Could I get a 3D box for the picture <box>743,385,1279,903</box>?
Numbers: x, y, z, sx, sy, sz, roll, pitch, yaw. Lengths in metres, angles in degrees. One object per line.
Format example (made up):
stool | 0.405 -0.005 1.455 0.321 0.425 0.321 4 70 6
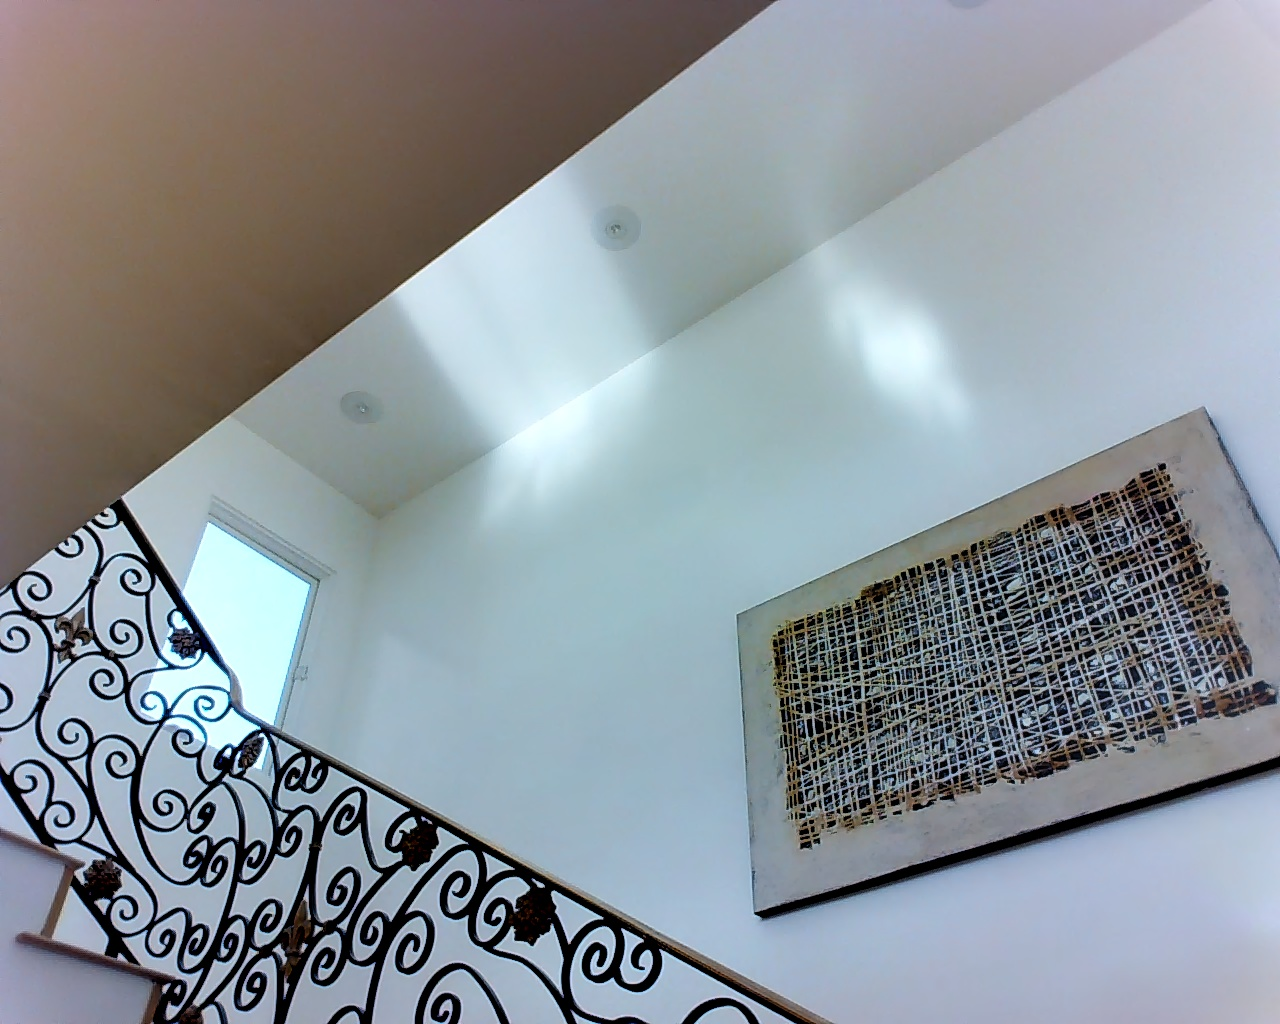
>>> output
picture | 0.960 0.370 2.960 1.510 1.020 0.080 -29 -50 28
